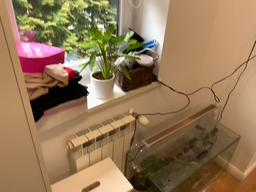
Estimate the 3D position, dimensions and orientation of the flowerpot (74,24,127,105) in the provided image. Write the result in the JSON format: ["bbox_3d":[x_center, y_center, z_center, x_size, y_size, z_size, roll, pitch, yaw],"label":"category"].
[{"bbox_3d":[-0.160,-0.190,1.260,0.210,0.390,0.200,-22,41,-34],"label":"flowerpot"}]
